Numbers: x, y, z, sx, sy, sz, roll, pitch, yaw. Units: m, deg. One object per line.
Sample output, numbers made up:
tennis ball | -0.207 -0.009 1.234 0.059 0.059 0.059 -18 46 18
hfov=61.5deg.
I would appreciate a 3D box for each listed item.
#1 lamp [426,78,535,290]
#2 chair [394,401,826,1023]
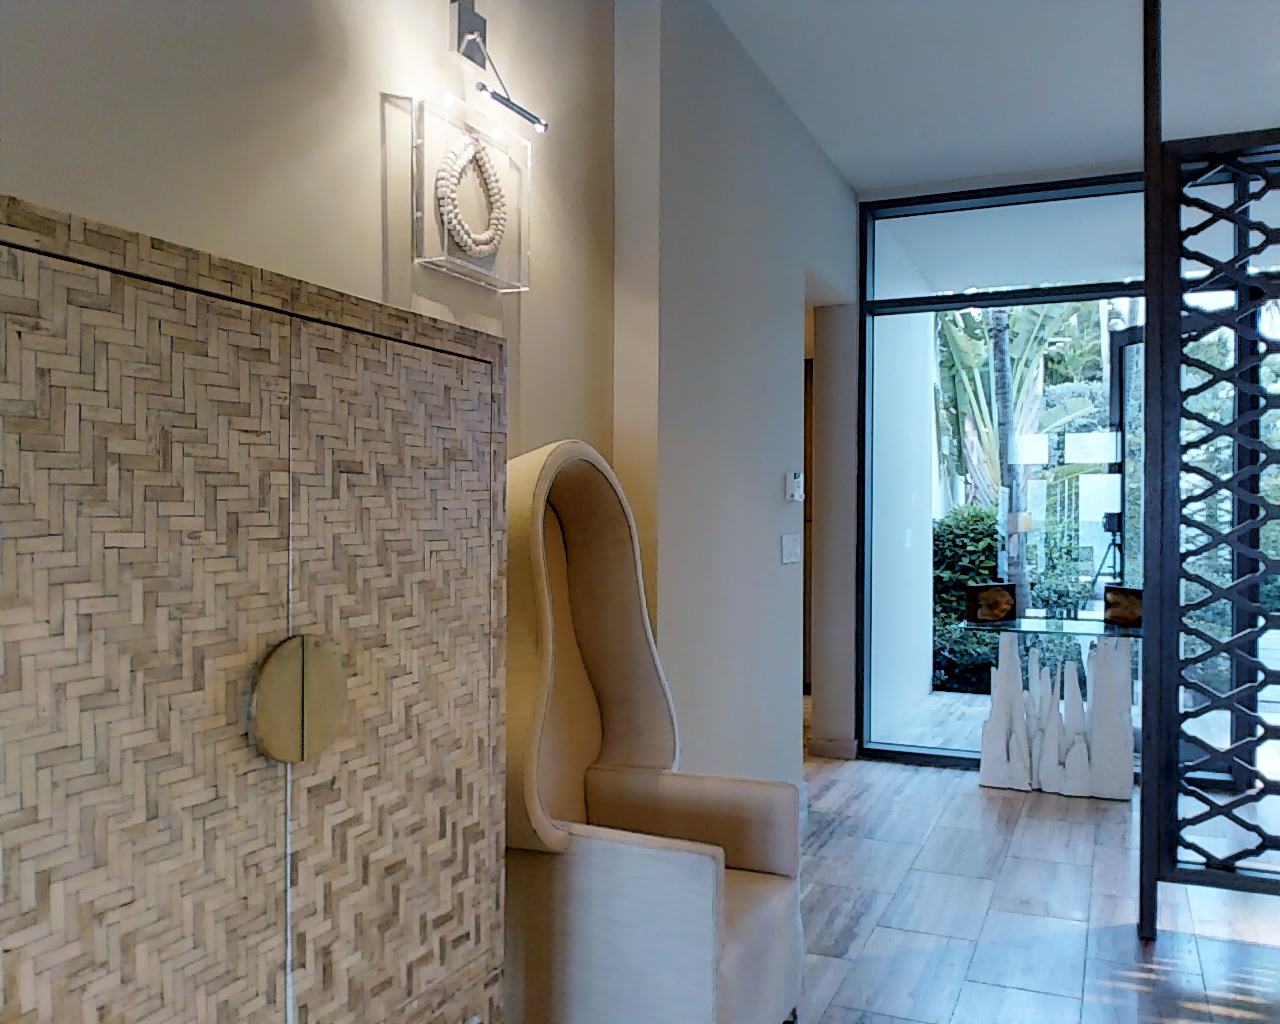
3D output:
lamp | -0.380 -0.780 2.620 0.060 0.400 0.390 0 0 24
chair | -0.030 0.530 2.540 0.750 1.480 0.790 0 0 24
